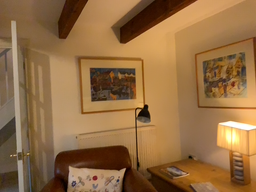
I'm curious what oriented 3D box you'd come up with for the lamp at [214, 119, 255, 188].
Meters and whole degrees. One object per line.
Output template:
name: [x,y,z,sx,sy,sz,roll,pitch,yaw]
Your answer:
lamp: [1.090,0.530,2.070,0.270,0.550,0.350,-3,0,-25]
